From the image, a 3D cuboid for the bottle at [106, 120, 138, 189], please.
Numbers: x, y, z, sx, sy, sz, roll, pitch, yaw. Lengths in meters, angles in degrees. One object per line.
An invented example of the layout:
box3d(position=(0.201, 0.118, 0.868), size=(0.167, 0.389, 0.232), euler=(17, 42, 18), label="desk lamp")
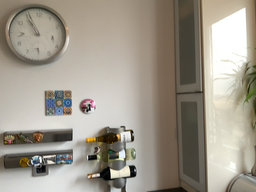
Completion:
box3d(position=(-0.040, 0.360, 1.350), size=(0.180, 0.390, 0.110), euler=(-1, -1, -17), label="bottle")
